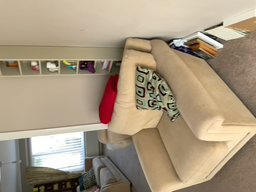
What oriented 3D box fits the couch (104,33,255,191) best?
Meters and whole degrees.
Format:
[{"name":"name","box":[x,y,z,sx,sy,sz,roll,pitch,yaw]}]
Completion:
[{"name":"couch","box":[0.380,0.230,1.910,1.160,0.840,0.970,107,151,-43]}]

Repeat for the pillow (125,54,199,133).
[{"name":"pillow","box":[0.240,-0.010,1.740,0.380,0.310,0.500,-112,33,-41]}]

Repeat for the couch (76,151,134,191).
[{"name":"couch","box":[-0.640,2.140,5.010,2.220,0.810,1.010,180,87,-69]}]
